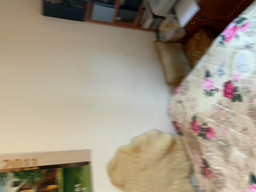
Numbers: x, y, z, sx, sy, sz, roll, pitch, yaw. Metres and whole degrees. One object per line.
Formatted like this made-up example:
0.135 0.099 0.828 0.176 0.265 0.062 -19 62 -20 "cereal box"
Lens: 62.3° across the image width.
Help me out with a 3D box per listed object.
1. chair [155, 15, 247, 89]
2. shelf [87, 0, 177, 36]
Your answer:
0.630 -0.370 1.910 0.350 0.580 0.480 130 136 -55 "chair"
0.020 -0.850 1.930 0.340 0.700 0.370 132 134 -56 "shelf"
